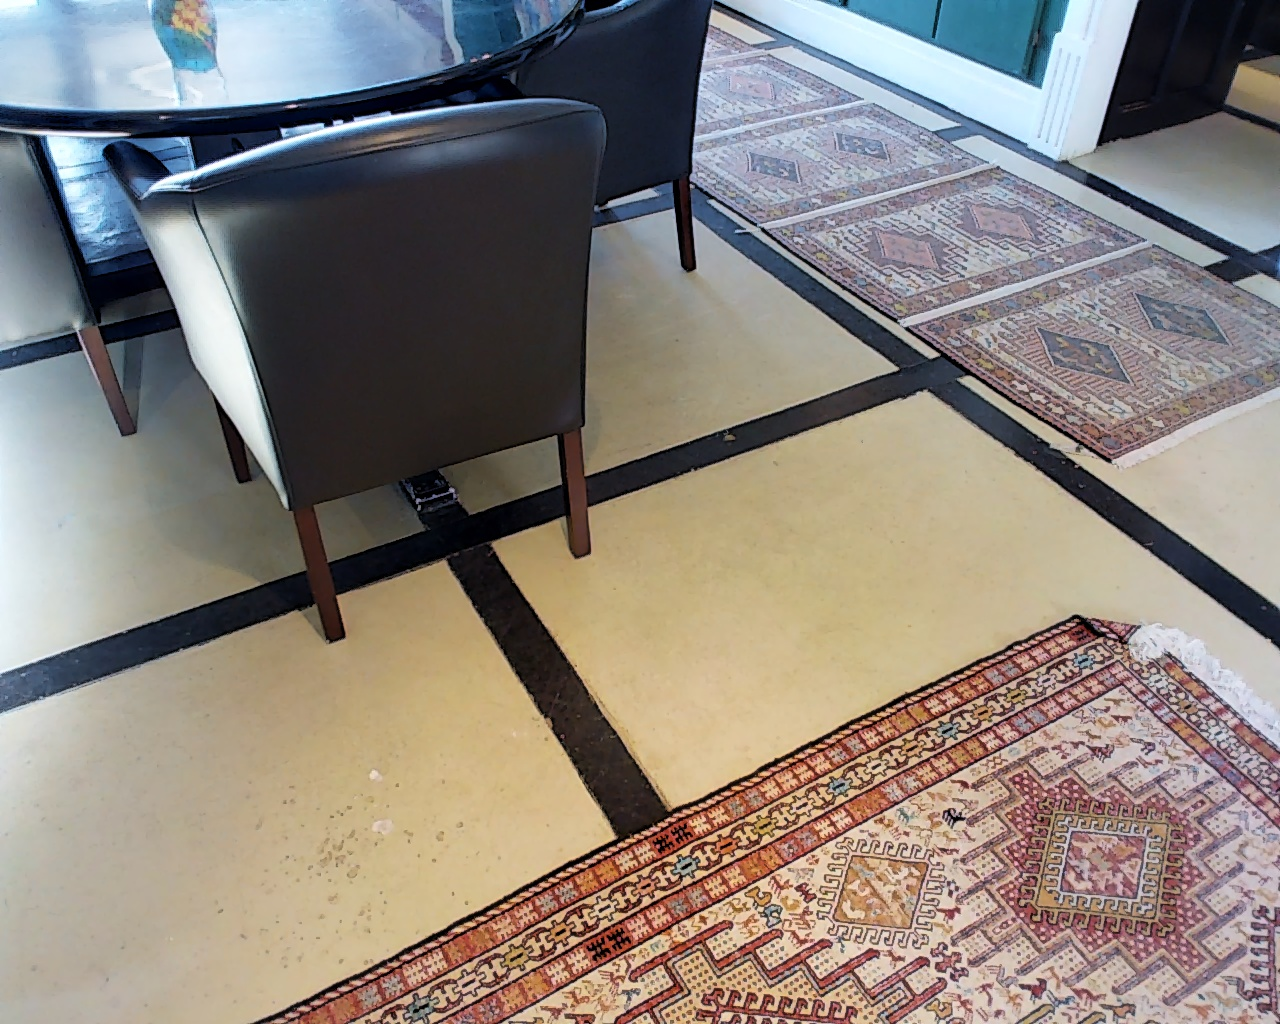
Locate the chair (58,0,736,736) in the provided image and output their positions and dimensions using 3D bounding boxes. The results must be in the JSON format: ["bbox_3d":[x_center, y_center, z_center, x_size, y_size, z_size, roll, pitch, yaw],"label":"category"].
[{"bbox_3d":[-0.360,-0.300,1.700,0.690,0.860,0.710,-19,44,-22],"label":"chair"}]
